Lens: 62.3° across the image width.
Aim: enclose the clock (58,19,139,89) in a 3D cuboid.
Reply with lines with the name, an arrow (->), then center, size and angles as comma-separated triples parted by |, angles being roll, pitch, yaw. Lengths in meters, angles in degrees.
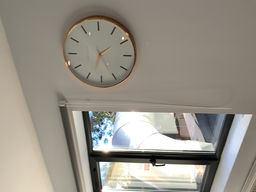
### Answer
clock -> -0.170, -0.250, 1.330 | 0.030, 0.460, 0.440 | -85, -4, -57
